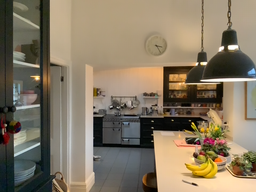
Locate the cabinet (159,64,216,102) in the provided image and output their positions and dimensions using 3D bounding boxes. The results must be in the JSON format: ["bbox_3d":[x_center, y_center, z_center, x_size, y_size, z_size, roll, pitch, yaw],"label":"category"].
[{"bbox_3d":[1.830,-0.400,6.690,1.690,1.120,0.420,0,2,6],"label":"cabinet"}]
